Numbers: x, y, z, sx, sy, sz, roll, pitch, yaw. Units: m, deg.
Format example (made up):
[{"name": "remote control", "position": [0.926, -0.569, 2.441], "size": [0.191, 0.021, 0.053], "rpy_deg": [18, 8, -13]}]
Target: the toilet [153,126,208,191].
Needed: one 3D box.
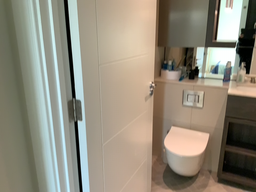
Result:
[{"name": "toilet", "position": [0.510, 0.610, 2.020], "size": [0.380, 0.430, 0.500], "rpy_deg": [8, 18, 25]}]

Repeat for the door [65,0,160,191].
[{"name": "door", "position": [0.000, -0.020, 1.260], "size": [0.040, 2.080, 0.880], "rpy_deg": [9, 19, 27]}]
